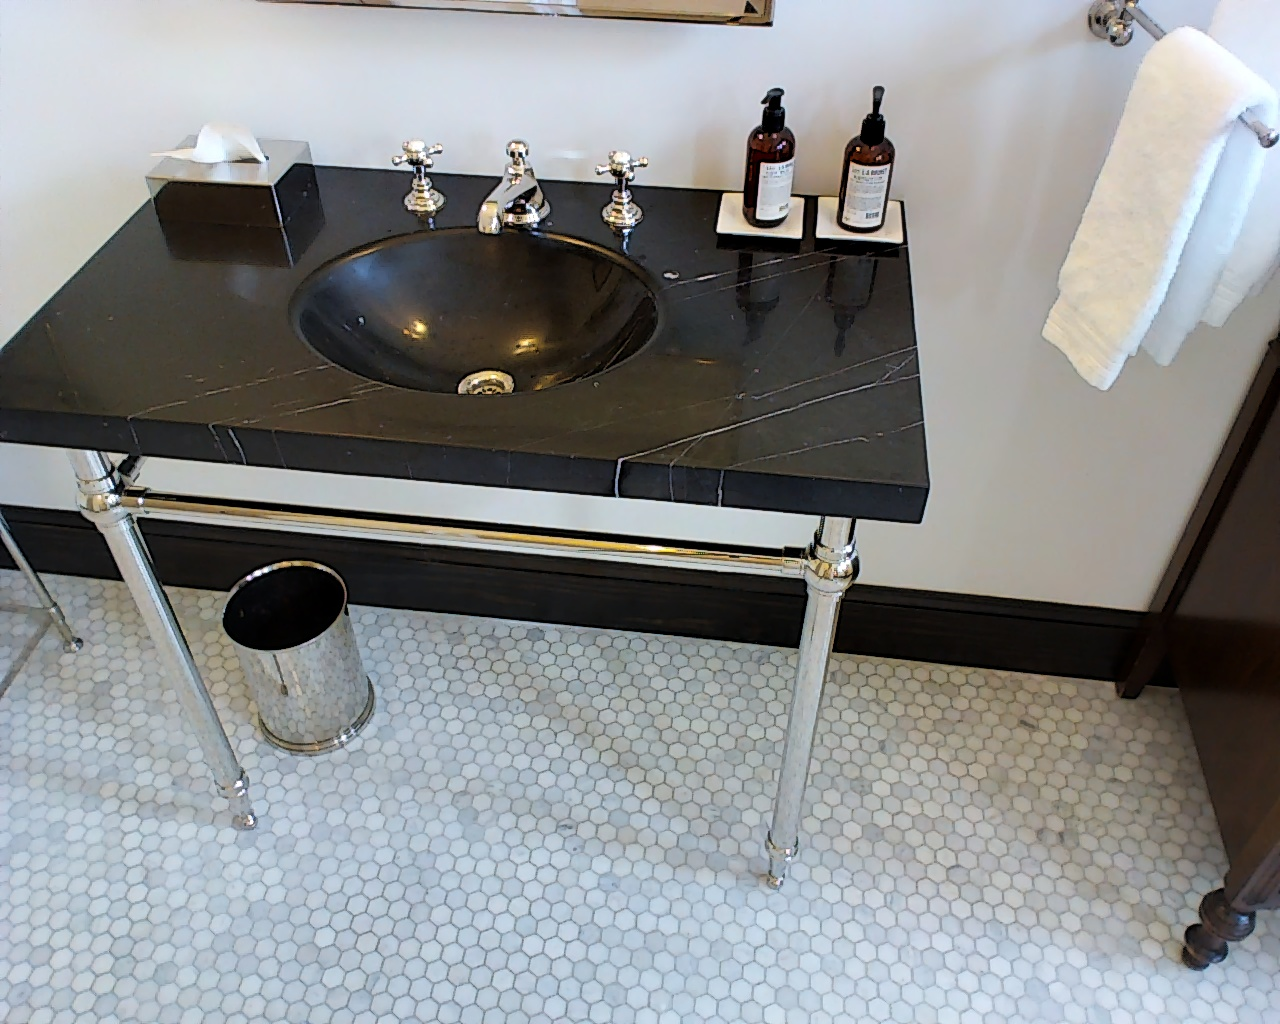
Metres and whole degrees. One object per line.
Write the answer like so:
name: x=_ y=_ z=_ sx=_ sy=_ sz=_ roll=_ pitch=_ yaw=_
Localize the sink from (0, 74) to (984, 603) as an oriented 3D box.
sink: x=-0.170 y=-0.240 z=1.230 sx=0.990 sy=0.260 sz=0.570 roll=5 pitch=43 yaw=6
